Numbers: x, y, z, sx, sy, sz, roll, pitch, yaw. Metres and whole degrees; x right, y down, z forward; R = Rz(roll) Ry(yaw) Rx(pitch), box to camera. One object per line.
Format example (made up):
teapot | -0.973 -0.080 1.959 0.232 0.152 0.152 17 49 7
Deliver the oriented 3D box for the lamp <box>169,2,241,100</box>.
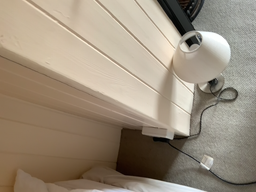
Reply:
lamp | 0.390 -0.170 1.020 0.210 0.460 0.240 -7 70 33
